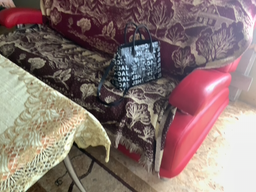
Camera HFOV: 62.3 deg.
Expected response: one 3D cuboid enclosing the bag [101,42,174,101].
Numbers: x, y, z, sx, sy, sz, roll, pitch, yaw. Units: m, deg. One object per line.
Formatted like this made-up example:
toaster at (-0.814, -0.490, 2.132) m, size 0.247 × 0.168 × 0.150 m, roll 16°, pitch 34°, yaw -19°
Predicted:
bag at (0.060, -0.170, 1.330) m, size 0.340 × 0.150 × 0.290 m, roll 25°, pitch 46°, yaw 26°
